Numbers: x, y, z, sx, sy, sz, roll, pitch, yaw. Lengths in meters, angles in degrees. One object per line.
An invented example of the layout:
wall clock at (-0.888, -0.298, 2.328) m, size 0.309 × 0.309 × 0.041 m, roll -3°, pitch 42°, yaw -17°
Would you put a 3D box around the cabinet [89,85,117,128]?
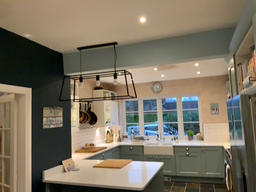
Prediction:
cabinet at (-0.690, 0.310, 6.010) m, size 0.340 × 1.080 × 1.030 m, roll -4°, pitch -5°, yaw 18°
